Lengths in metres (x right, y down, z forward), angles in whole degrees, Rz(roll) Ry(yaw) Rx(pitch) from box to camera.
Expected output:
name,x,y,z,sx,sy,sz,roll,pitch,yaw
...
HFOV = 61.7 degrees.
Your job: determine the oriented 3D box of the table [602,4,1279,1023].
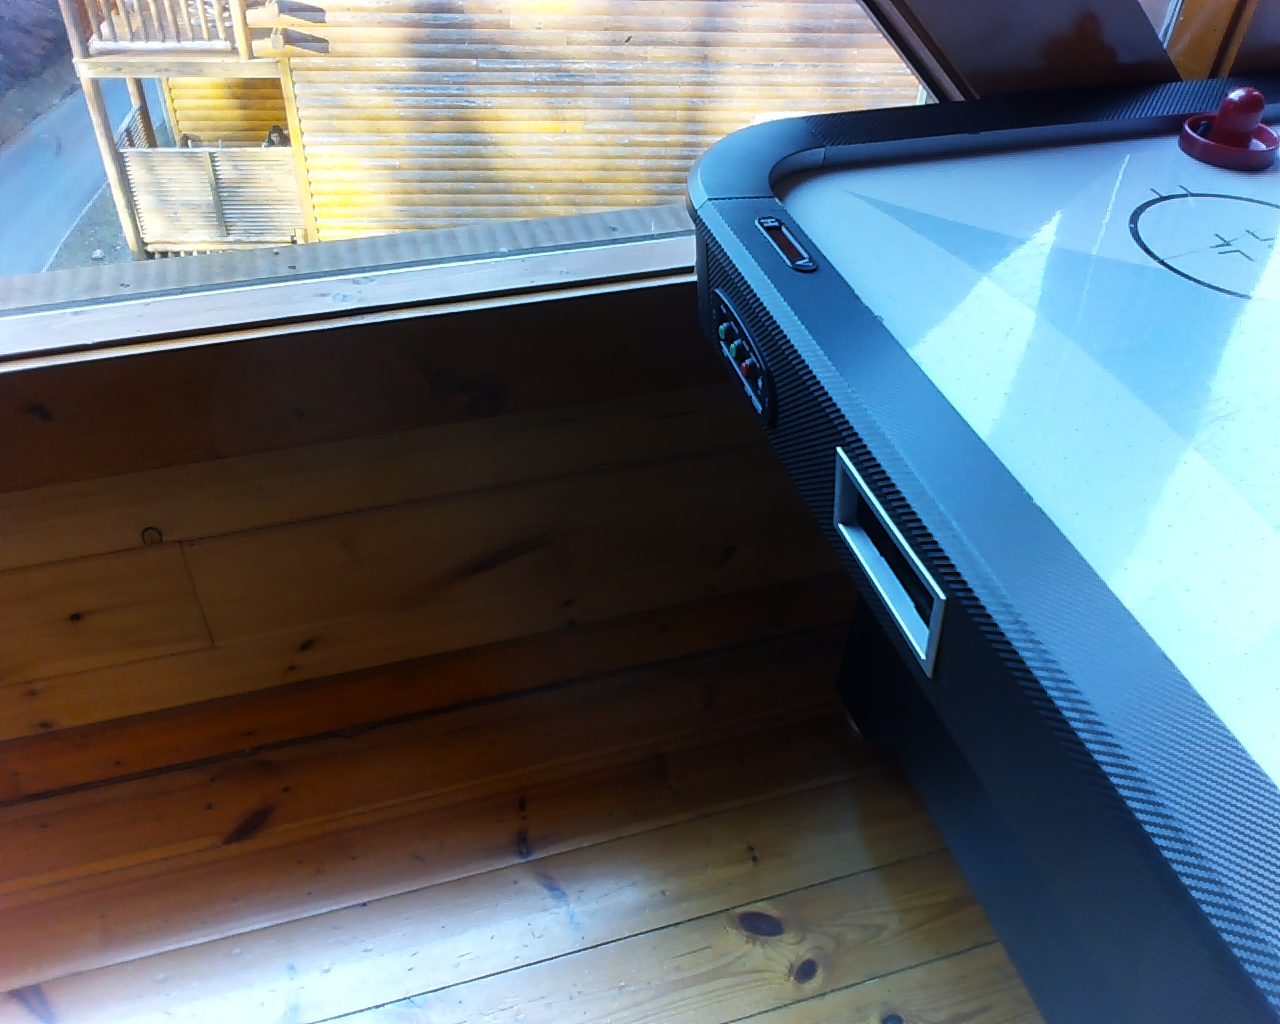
name,x,y,z,sx,sy,sz,roll,pitch,yaw
table,1.140,0.030,1.160,2.159,0.780,1.080,-8,44,-12
